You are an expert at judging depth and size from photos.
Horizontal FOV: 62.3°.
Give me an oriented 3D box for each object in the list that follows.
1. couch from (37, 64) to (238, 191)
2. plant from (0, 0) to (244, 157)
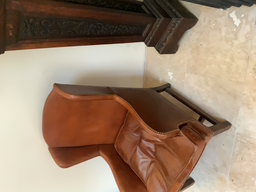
[{"bbox_3d":[0.000,0.290,1.410,0.780,0.910,0.670,45,131,37],"label":"couch"},{"bbox_3d":[-0.380,-0.280,0.950,0.690,2.190,0.720,21,114,48],"label":"plant"}]
